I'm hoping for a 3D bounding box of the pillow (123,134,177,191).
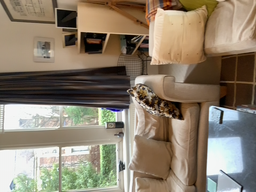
[{"bbox_3d":[0.270,0.820,2.530,0.260,0.480,0.520,37,148,58],"label":"pillow"}]

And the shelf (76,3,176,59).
[{"bbox_3d":[-0.090,-0.950,3.310,0.810,1.400,0.430,147,122,-73],"label":"shelf"}]

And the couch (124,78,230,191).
[{"bbox_3d":[0.450,0.910,2.530,1.060,0.740,2.230,-160,70,-75],"label":"couch"}]

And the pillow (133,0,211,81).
[{"bbox_3d":[0.420,-0.510,1.960,0.500,0.530,0.230,56,162,-23],"label":"pillow"}]
